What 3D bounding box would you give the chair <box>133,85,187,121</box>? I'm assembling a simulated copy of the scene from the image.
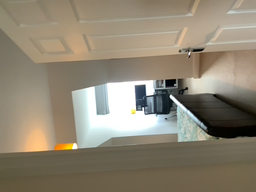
[{"bbox_3d":[0.710,0.140,4.910,0.640,1.120,0.630,-101,9,-79],"label":"chair"}]
